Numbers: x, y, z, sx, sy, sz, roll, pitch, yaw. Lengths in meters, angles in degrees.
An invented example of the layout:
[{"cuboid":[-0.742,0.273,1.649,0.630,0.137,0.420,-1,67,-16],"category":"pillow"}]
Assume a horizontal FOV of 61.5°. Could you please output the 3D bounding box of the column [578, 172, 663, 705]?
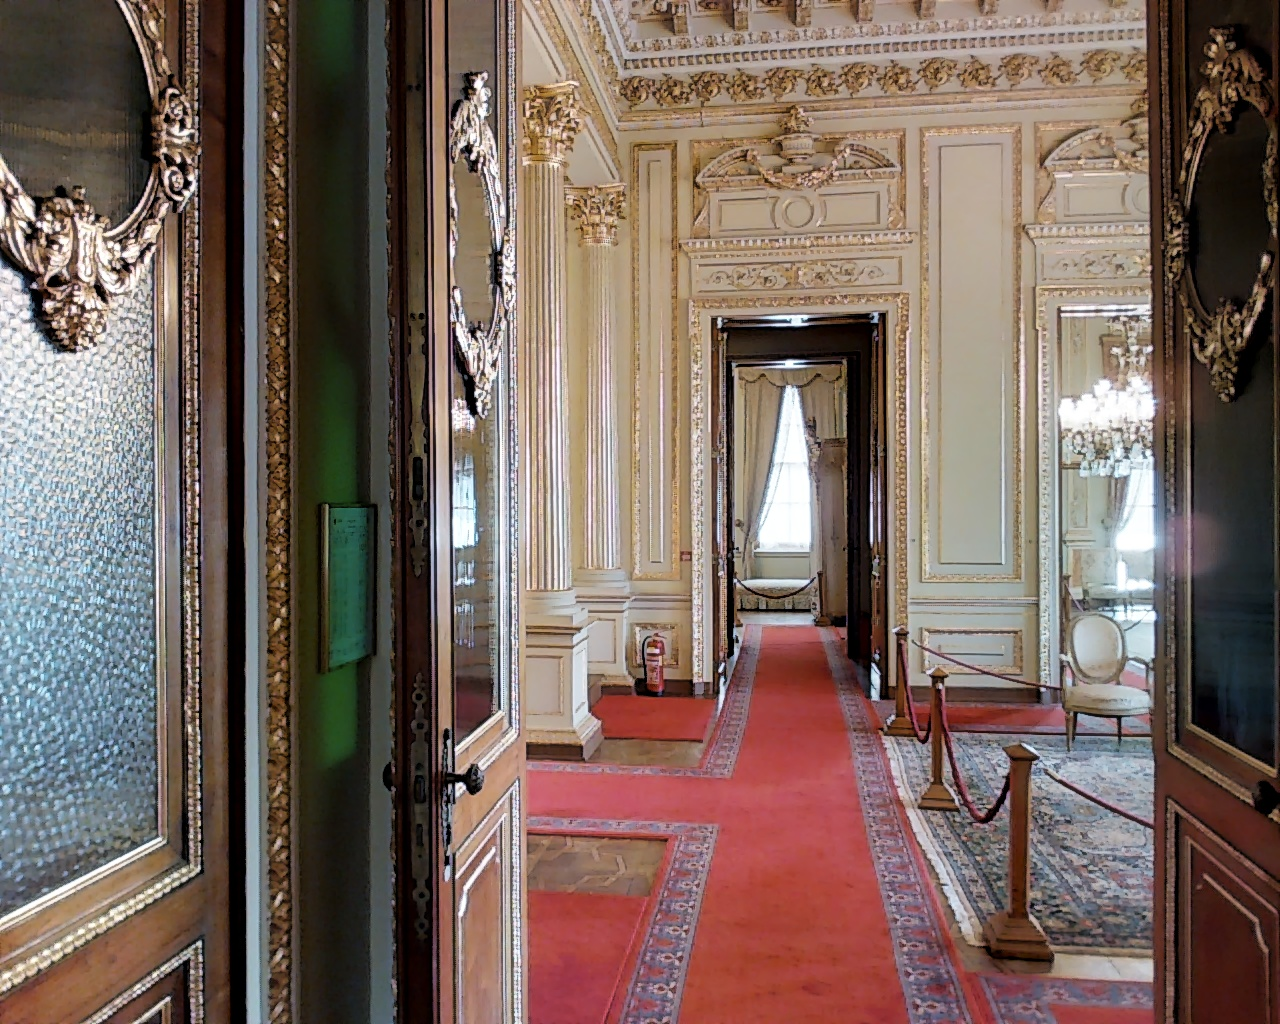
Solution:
[{"cuboid":[-0.170,-0.650,9.750,0.720,4.722,0.360,0,0,9],"category":"column"}]
